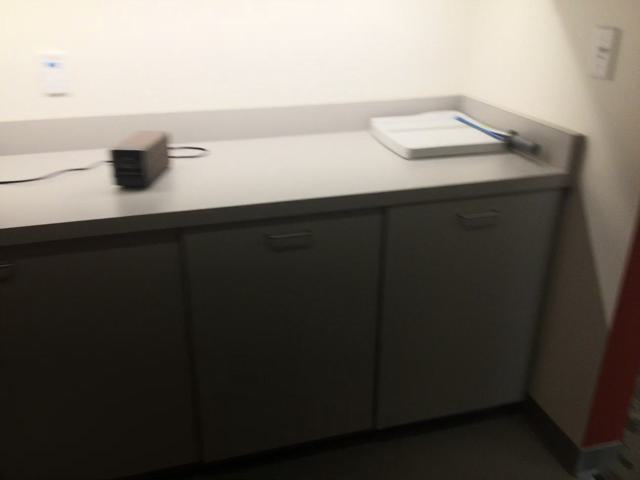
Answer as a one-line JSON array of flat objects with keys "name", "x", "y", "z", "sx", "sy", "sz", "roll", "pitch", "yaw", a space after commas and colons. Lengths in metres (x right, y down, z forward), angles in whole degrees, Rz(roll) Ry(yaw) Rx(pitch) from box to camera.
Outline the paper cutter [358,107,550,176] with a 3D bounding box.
[{"name": "paper cutter", "x": 0.370, "y": -0.310, "z": 1.730, "sx": 0.360, "sy": 0.070, "sz": 0.500, "roll": -8, "pitch": 23, "yaw": -15}]
